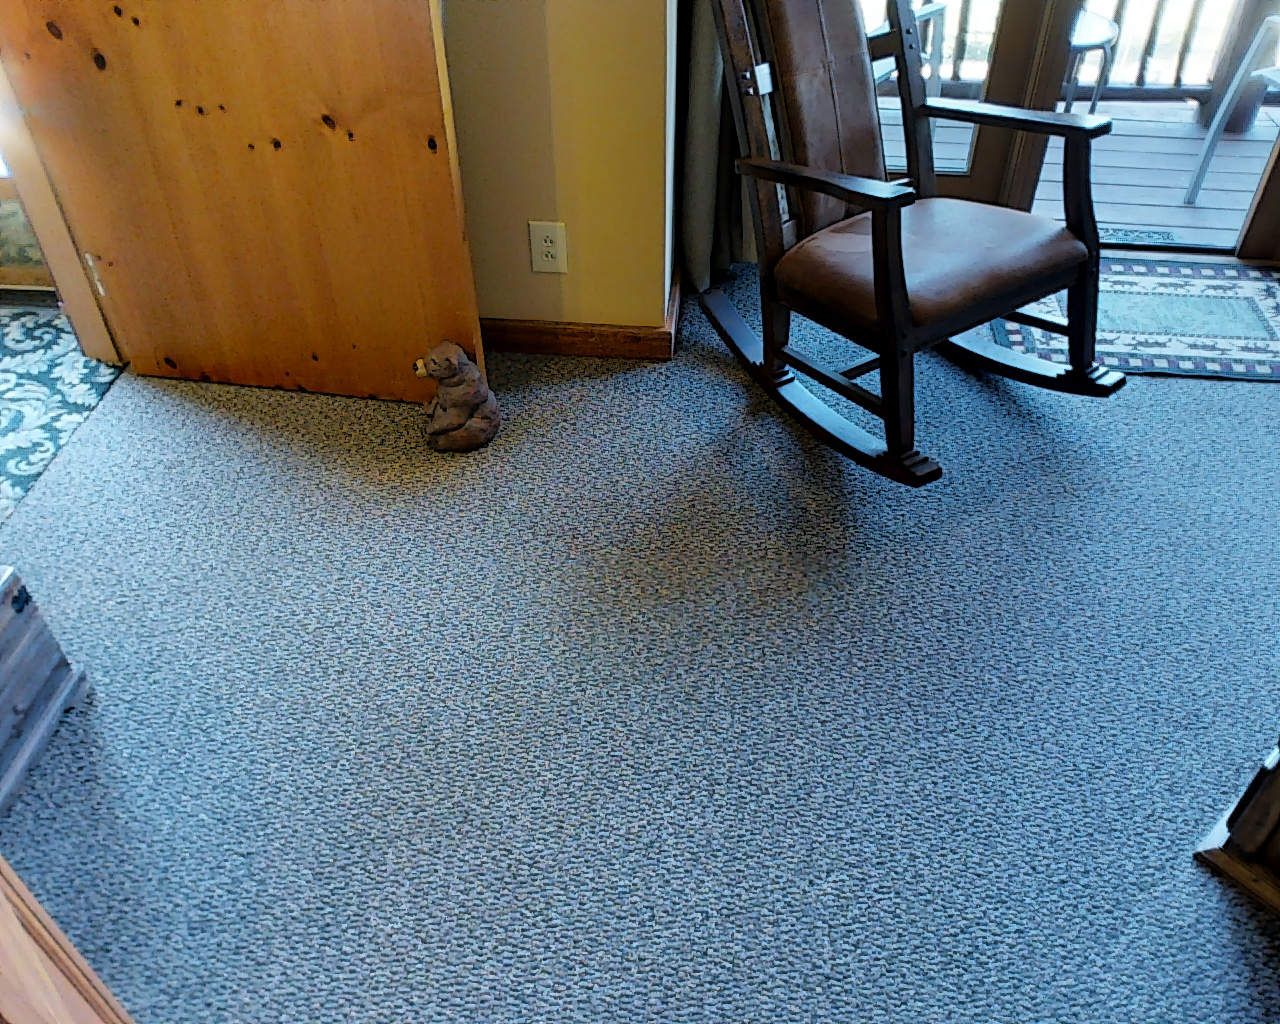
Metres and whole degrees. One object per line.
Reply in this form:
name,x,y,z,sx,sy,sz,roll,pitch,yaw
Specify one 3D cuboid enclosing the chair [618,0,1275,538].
chair,0.540,-0.780,2.310,0.690,1.120,1.040,-26,48,-26
